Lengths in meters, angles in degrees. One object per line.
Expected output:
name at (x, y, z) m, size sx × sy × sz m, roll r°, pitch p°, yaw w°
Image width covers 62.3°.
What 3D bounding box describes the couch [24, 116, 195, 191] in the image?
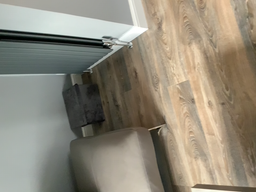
couch at (-0.140, 0.950, 1.620) m, size 1.140 × 0.720 × 1.310 m, roll -21°, pitch 80°, yaw 48°
